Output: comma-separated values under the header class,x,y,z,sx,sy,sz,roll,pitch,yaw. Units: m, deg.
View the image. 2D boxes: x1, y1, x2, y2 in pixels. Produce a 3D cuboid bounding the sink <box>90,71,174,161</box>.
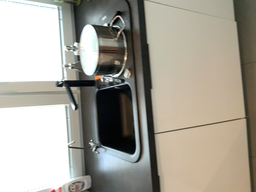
class,x,y,z,sx,sy,sz,roll,pitch,yaw
sink,-0.010,0.100,1.220,0.510,0.210,0.400,-7,87,58
